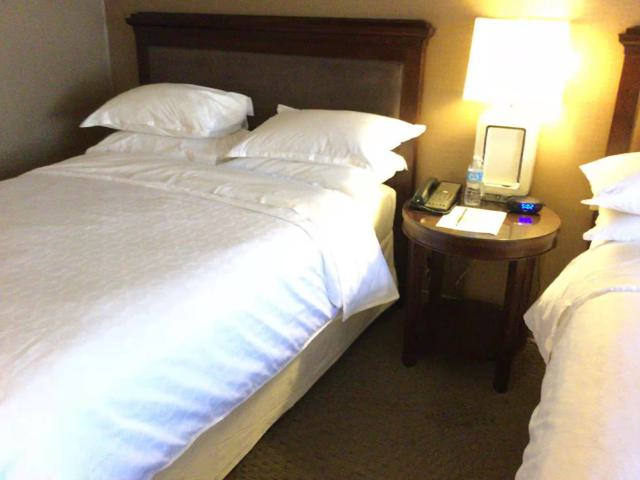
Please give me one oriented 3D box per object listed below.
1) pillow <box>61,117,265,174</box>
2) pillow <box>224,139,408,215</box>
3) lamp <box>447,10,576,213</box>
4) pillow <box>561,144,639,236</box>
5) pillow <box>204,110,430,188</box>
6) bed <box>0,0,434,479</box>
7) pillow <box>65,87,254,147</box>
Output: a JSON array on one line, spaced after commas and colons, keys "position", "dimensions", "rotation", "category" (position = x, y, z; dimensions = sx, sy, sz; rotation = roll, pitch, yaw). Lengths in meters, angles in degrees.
[{"position": [-0.770, -0.490, 2.880], "dimensions": [0.820, 0.150, 0.540], "rotation": [10, 20, 25], "category": "pillow"}, {"position": [-0.010, -0.300, 2.570], "dimensions": [0.670, 0.190, 0.460], "rotation": [10, 20, 25], "category": "pillow"}, {"position": [0.750, -0.510, 2.300], "dimensions": [0.380, 0.730, 0.220], "rotation": [10, 20, 25], "category": "lamp"}, {"position": [1.270, -0.160, 1.940], "dimensions": [0.780, 0.190, 0.610], "rotation": [10, 20, 25], "category": "pillow"}, {"position": [-0.010, -0.430, 2.570], "dimensions": [0.860, 0.210, 0.500], "rotation": [10, 20, 25], "category": "pillow"}, {"position": [-0.800, -0.090, 2.160], "dimensions": [1.770, 1.440, 2.160], "rotation": [10, 20, 25], "category": "bed"}, {"position": [-0.790, -0.630, 2.880], "dimensions": [0.780, 0.210, 0.470], "rotation": [10, 20, 25], "category": "pillow"}]
